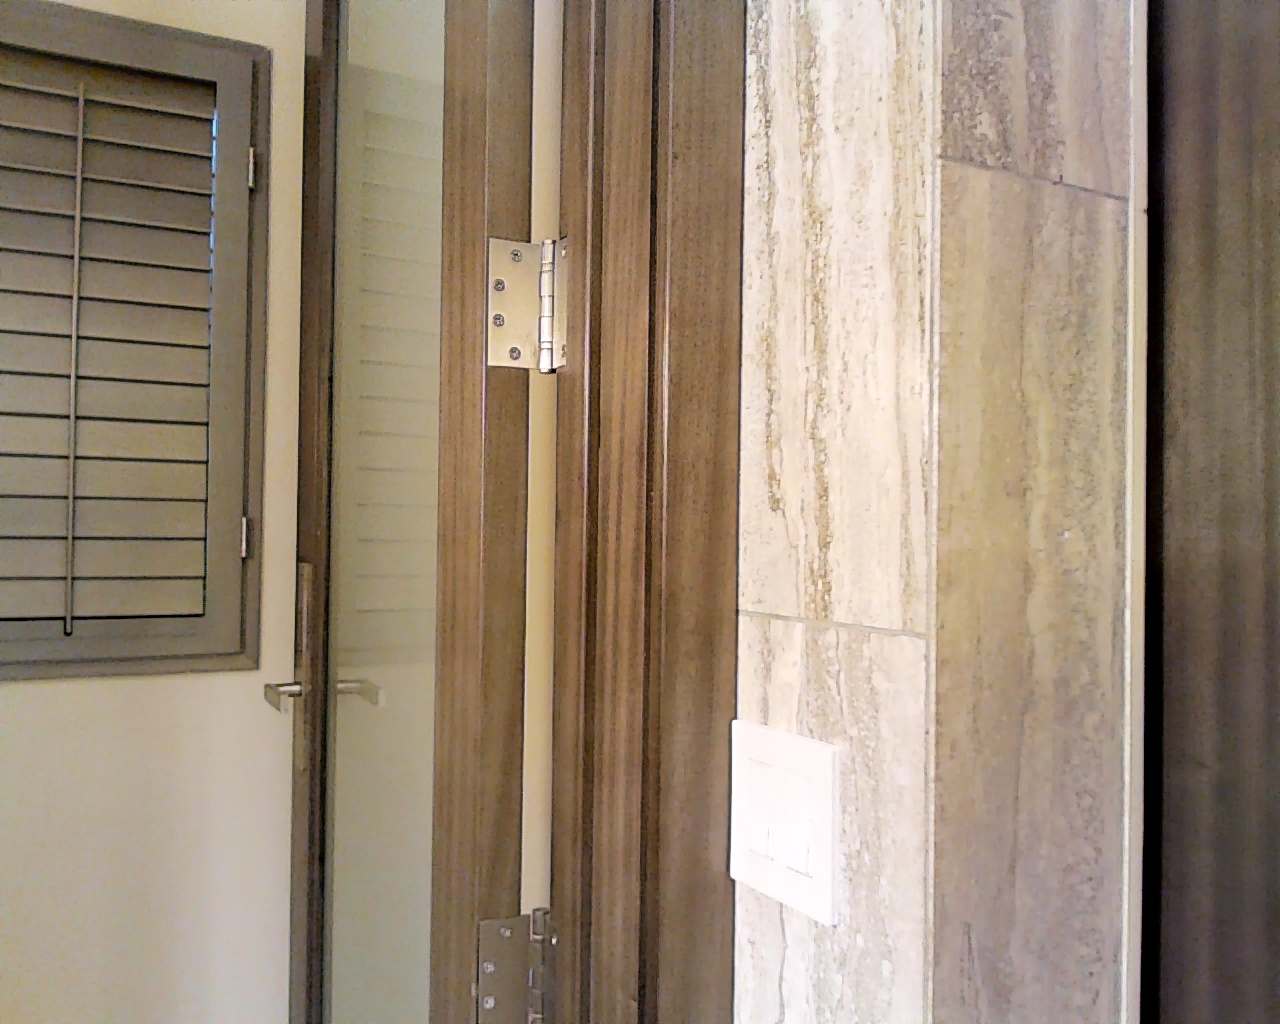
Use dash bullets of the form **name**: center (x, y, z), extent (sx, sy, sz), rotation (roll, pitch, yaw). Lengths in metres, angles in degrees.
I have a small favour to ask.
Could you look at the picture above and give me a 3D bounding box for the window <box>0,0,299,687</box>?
- **window**: center (-0.880, -0.290, 1.730), extent (0.610, 1.120, 0.050), rotation (1, -1, -27)
